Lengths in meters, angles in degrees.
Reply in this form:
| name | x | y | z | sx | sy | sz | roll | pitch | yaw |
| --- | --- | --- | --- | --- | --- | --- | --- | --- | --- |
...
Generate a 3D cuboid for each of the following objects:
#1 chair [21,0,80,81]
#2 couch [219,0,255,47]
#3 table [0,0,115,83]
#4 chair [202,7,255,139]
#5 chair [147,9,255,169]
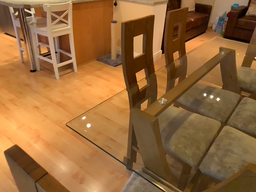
| name | x | y | z | sx | sy | sz | roll | pitch | yaw |
| --- | --- | --- | --- | --- | --- | --- | --- | --- | --- |
| chair | -0.950 | -0.740 | 2.700 | 0.440 | 0.910 | 0.410 | 24 | 37 | 29 |
| couch | 2.720 | -1.690 | 4.590 | 0.950 | 0.920 | 0.940 | 24 | 38 | 30 |
| table | -0.940 | -0.960 | 3.050 | 0.670 | 0.910 | 1.520 | 24 | 37 | 29 |
| chair | 1.170 | -0.240 | 2.030 | 0.440 | 1.020 | 0.660 | 25 | 38 | 31 |
| chair | 0.560 | -0.060 | 1.660 | 0.590 | 1.040 | 0.410 | 24 | 38 | 30 |
